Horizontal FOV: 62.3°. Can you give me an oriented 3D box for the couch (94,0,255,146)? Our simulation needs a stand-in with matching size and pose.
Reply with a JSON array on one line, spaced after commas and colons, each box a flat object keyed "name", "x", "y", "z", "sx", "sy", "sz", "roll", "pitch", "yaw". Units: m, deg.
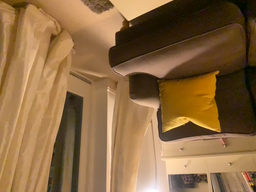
[{"name": "couch", "x": 0.790, "y": -0.210, "z": 1.460, "sx": 1.640, "sy": 0.840, "sz": 1.130, "roll": -12, "pitch": 157, "yaw": 27}]
